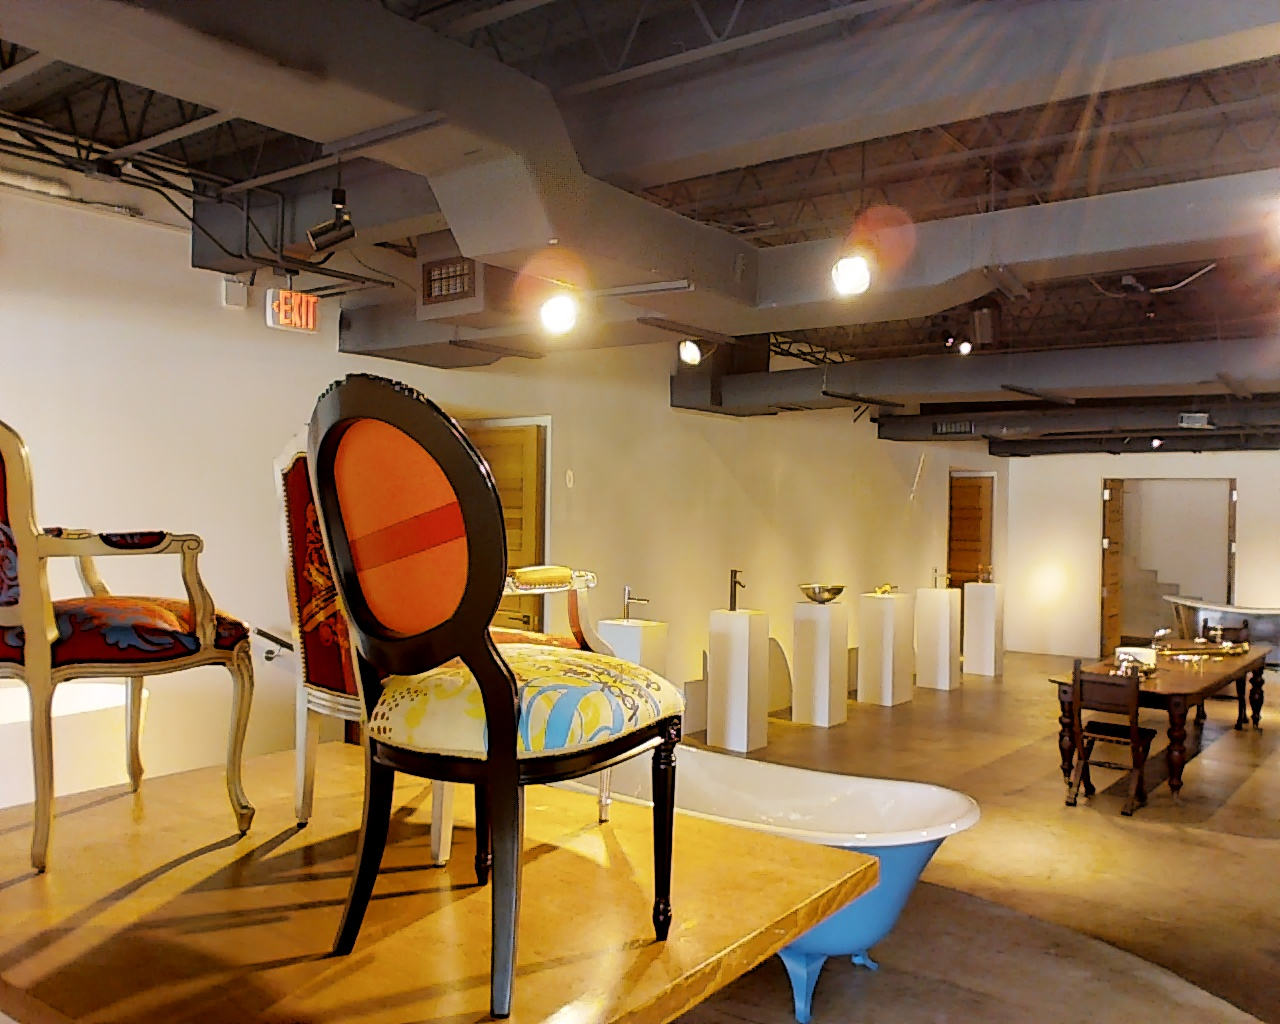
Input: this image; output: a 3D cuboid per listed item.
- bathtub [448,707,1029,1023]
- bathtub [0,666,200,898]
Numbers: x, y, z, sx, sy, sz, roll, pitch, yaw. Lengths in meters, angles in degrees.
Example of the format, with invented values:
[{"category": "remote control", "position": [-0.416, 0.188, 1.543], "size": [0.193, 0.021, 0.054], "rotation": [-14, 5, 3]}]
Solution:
[{"category": "bathtub", "position": [0.270, 1.130, 3.570], "size": [1.750, 0.630, 0.810], "rotation": [1, 0, 38]}, {"category": "bathtub", "position": [-2.670, 1.060, 4.170], "size": [0.850, 0.680, 1.550], "rotation": [1, 0, 38]}]
